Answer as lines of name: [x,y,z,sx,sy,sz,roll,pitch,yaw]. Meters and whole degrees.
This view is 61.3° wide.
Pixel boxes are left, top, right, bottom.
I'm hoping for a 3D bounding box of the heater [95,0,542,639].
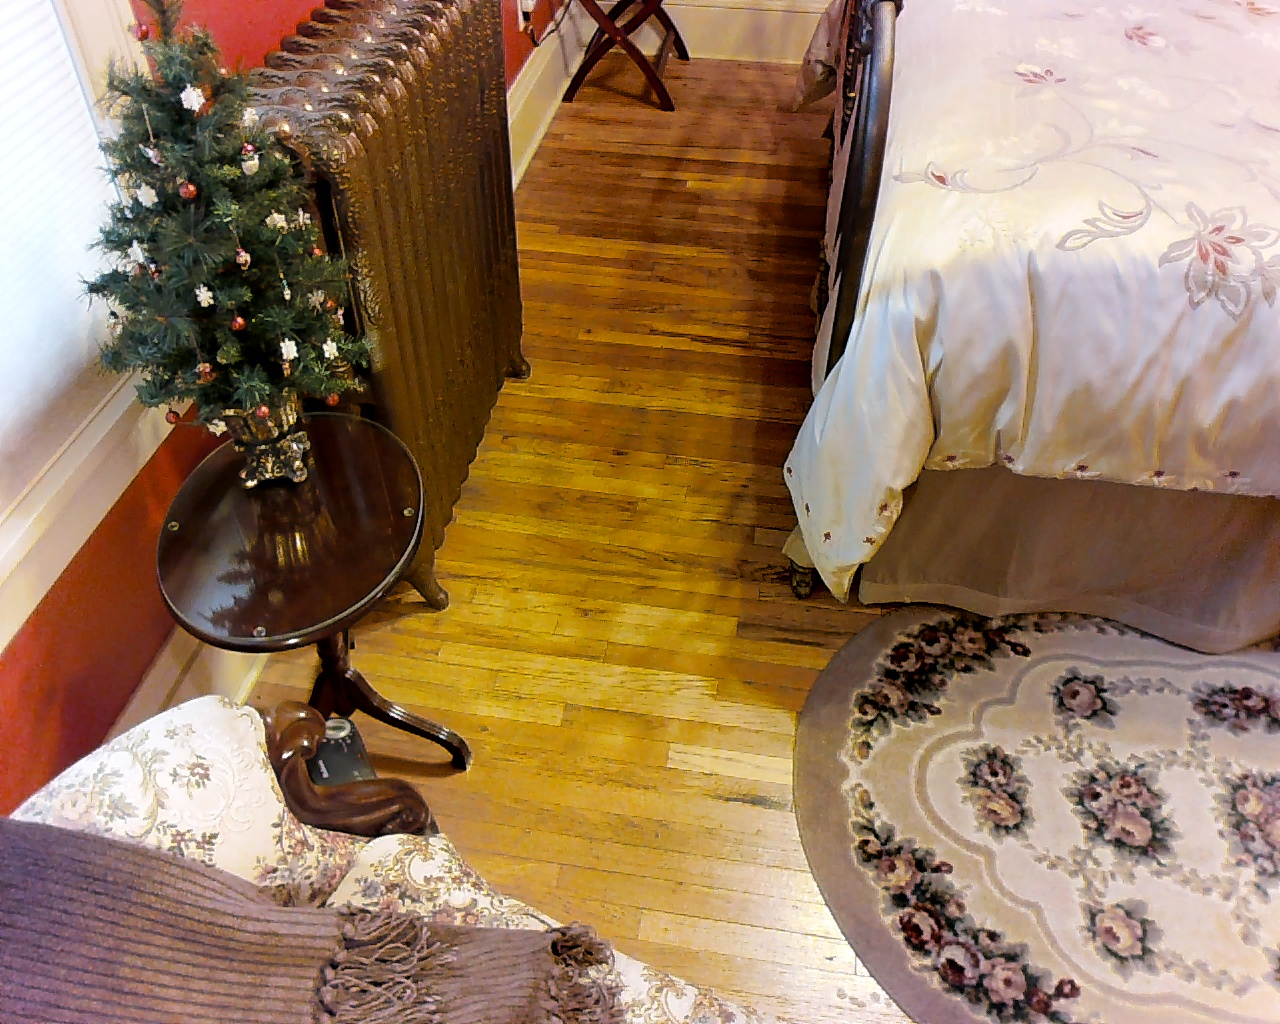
heater: [-0.480,-0.430,2.050,0.320,0.920,0.930,6,43,7]
